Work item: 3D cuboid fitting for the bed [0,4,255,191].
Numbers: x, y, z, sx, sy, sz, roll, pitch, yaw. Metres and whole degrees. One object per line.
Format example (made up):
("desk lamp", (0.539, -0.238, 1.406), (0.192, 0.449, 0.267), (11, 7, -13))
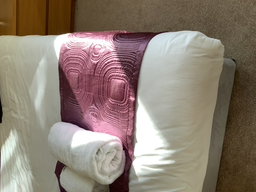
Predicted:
("bed", (-0.410, 0.340, 1.490), (1.990, 0.680, 1.460), (11, 102, 41))
